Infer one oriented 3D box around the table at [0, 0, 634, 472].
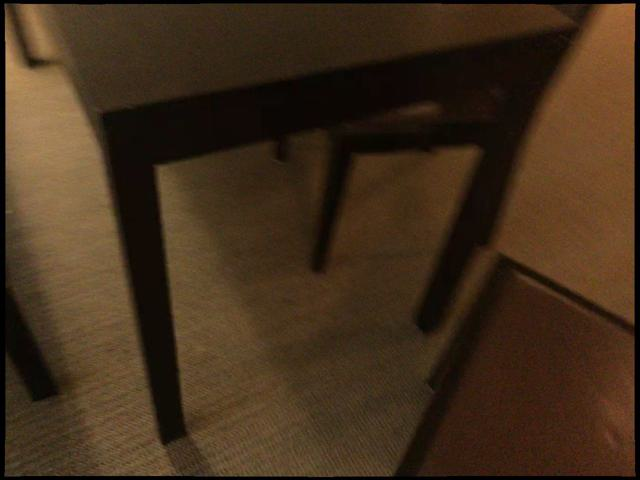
[{"bbox_3d":[-0.359,-0.531,1.520,0.849,0.861,1.741,-18,52,-28],"label":"table"}]
